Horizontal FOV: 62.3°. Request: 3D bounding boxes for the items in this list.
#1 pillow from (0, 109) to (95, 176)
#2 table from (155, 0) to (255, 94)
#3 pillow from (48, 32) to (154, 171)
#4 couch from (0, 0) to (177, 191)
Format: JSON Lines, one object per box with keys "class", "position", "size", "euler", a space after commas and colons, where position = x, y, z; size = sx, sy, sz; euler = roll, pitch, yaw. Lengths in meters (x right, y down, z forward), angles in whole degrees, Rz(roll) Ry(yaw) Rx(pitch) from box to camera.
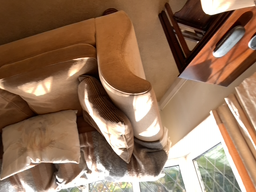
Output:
{"class": "pillow", "position": [-0.580, 0.320, 1.480], "size": [0.580, 0.370, 0.250], "euler": [-3, 147, 17]}
{"class": "table", "position": [0.470, -0.400, 1.150], "size": [0.340, 0.550, 0.500], "euler": [8, 141, -23]}
{"class": "pillow", "position": [-0.110, 0.090, 1.270], "size": [0.350, 0.460, 0.710], "euler": [-15, 145, 7]}
{"class": "couch", "position": [-0.630, 0.230, 1.510], "size": [1.730, 0.860, 1.080], "euler": [-13, 145, 5]}
